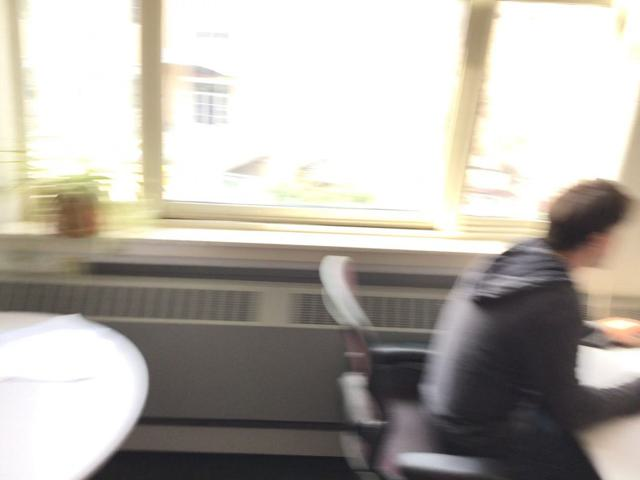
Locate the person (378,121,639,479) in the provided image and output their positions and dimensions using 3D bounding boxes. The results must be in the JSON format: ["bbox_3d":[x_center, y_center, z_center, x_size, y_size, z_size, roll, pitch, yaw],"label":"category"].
[{"bbox_3d":[0.620,0.390,1.670,0.660,1.360,0.560,-1,19,-13],"label":"person"}]

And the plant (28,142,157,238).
[{"bbox_3d":[-0.770,-0.180,2.000,0.330,0.260,0.250,4,18,1],"label":"plant"}]

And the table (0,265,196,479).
[{"bbox_3d":[-0.970,0.650,1.540,1.000,0.800,1.140,4,18,1],"label":"table"}]
